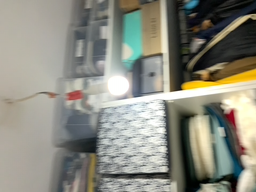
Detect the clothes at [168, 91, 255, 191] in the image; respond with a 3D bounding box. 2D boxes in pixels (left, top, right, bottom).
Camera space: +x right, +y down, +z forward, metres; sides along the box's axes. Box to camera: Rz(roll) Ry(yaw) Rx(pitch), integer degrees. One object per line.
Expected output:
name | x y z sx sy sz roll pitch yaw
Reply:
clothes | 0.400 0.490 0.870 0.320 0.340 0.930 40 -134 -59
